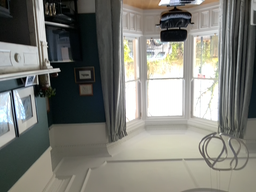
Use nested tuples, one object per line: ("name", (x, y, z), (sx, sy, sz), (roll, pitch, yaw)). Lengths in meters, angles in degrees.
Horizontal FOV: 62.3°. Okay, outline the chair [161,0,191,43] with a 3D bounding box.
("chair", (1.030, -1.620, 4.620), (0.570, 0.830, 0.830), (1, -170, 10))
